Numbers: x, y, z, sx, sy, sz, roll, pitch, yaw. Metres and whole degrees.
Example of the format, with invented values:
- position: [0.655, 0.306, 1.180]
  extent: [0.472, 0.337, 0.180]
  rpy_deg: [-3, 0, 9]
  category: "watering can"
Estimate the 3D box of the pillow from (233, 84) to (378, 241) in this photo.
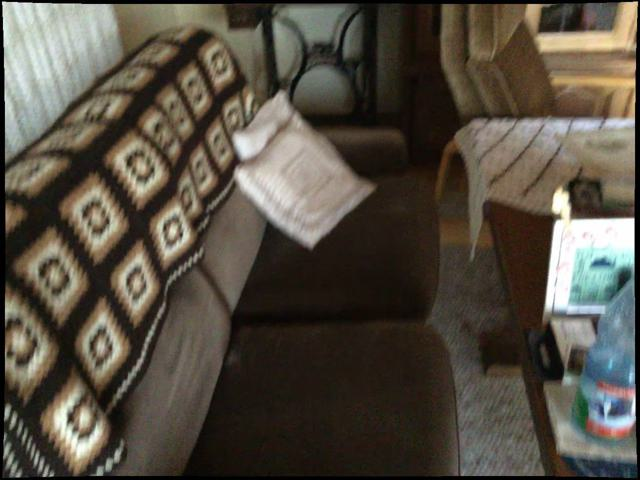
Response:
- position: [-0.020, -0.270, 1.880]
  extent: [0.400, 0.260, 0.560]
  rpy_deg: [0, 37, 4]
  category: "pillow"
